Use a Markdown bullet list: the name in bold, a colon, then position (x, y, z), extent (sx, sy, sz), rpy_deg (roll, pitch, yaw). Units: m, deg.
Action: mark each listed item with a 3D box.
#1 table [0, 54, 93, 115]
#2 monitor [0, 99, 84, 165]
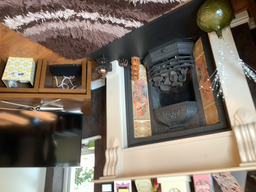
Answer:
- **table**: position (-0.910, -0.100, 2.310), extent (1.030, 0.460, 0.500), rpy_deg (1, 156, -8)
- **monitor**: position (-0.900, 0.340, 2.000), extent (0.930, 0.590, 0.040), rpy_deg (6, 155, -18)
